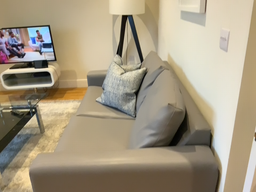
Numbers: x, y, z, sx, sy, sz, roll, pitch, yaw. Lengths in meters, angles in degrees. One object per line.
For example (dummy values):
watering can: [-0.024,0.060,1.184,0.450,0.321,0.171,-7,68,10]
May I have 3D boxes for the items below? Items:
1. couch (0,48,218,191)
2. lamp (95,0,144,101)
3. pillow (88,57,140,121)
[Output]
couch: [-0.080,0.200,1.880,1.000,0.870,1.730,-2,23,2]
lamp: [-0.080,-0.730,3.290,0.630,1.560,0.460,-1,23,4]
pillow: [-0.150,-0.070,1.990,0.420,0.440,0.110,36,27,33]
